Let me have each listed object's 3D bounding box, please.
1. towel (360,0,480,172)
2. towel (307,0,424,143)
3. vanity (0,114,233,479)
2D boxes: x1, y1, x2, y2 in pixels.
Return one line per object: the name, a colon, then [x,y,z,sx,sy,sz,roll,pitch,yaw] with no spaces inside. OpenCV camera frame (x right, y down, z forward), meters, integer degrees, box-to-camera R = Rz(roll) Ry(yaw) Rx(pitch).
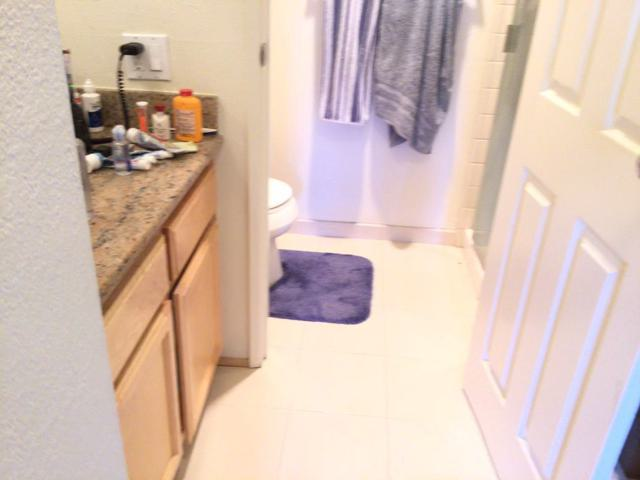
towel: [0.390,-0.700,2.320,0.380,0.800,0.190,6,27,5]
towel: [0.180,-0.770,2.340,0.420,0.700,0.150,6,27,5]
vanity: [-0.620,0.290,1.250,0.590,0.770,1.240,6,27,3]
